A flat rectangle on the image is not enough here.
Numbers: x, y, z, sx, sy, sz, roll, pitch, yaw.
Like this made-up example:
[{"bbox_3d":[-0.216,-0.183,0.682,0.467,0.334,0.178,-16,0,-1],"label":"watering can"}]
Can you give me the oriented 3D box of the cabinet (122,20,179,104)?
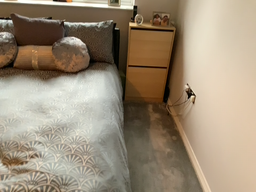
[{"bbox_3d":[0.230,-0.390,2.580,0.530,0.920,0.320,3,30,-4],"label":"cabinet"}]
